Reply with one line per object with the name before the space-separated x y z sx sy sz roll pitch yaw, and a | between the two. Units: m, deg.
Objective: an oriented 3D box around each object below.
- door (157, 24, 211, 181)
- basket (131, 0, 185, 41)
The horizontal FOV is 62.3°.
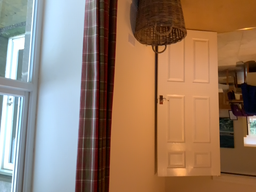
door | 0.740 0.060 2.800 0.730 2.000 0.050 2 174 -12
basket | 0.310 -0.820 2.110 0.450 0.390 0.350 -1 174 23
